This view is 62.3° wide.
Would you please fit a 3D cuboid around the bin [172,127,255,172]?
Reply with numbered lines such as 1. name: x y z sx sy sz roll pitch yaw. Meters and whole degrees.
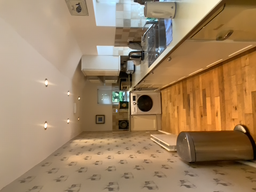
1. bin: 0.860 0.530 2.210 0.360 0.700 0.390 134 135 -81
